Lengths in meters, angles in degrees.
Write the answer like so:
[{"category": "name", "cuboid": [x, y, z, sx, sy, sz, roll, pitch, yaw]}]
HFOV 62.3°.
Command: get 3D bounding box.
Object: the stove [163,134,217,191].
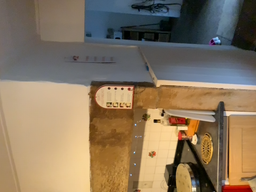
[{"category": "stove", "cuboid": [0.510, 0.990, 1.990, 0.710, 0.120, 1.020, -101, 13, -62]}]
